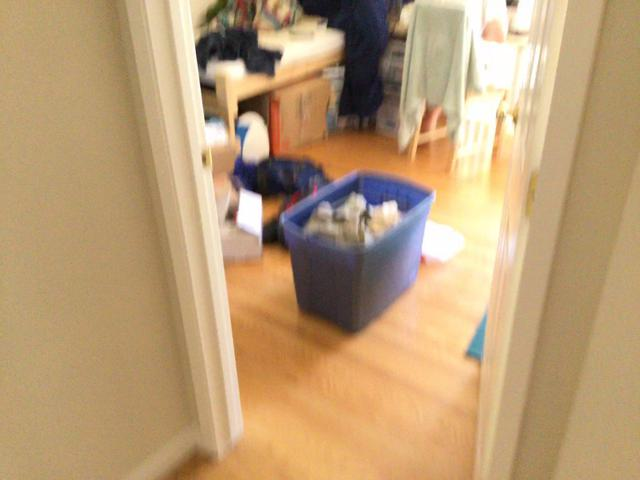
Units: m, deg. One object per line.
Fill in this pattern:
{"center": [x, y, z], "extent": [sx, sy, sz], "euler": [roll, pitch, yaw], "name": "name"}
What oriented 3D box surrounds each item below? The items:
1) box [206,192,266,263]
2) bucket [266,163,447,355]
{"center": [-0.400, -0.070, 2.820], "extent": [0.260, 0.190, 0.380], "euler": [-2, 27, -4], "name": "box"}
{"center": [0.160, 0.040, 2.380], "extent": [0.490, 0.480, 0.590], "euler": [16, 31, 28], "name": "bucket"}
